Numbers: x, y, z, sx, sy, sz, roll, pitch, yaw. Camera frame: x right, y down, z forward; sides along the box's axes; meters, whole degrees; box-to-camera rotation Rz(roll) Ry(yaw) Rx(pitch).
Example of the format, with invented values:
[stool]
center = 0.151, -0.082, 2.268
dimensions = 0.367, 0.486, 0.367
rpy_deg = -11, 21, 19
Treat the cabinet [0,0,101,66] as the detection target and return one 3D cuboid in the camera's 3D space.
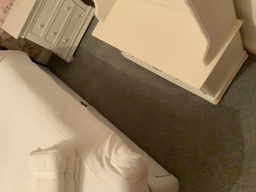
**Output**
[cabinet]
center = -0.770, -0.790, 2.120
dimensions = 0.450, 0.630, 0.670
rpy_deg = 33, 96, 35
